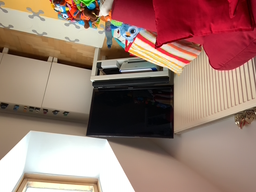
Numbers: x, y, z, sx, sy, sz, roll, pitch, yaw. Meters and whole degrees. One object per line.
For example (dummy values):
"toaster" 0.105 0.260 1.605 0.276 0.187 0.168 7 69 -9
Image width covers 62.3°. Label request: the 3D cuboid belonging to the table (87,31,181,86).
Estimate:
"table" 0.070 -0.410 2.470 1.030 0.460 0.270 -3 159 19
